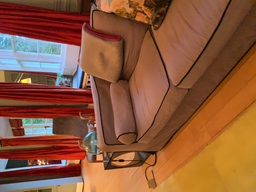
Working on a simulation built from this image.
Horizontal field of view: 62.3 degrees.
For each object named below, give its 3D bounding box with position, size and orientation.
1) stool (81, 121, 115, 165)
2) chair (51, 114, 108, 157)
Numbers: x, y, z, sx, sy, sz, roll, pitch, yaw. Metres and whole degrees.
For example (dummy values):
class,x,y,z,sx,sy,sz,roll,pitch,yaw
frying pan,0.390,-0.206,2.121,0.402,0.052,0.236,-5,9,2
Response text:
class,x,y,z,sx,sy,sz,roll,pitch,yaw
stool,-0.530,0.780,3.670,0.470,0.460,0.610,-169,81,-69
chair,-1.000,0.720,4.200,0.870,0.970,0.610,-169,81,-69
